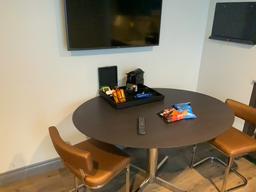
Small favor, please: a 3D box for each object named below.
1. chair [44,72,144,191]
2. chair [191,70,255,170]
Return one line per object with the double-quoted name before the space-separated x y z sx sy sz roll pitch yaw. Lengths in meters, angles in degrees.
"chair" -0.250 0.260 1.580 0.510 0.720 0.470 -15 27 -38
"chair" 0.960 0.180 1.940 0.450 0.710 0.460 -9 24 -28
